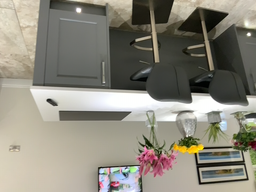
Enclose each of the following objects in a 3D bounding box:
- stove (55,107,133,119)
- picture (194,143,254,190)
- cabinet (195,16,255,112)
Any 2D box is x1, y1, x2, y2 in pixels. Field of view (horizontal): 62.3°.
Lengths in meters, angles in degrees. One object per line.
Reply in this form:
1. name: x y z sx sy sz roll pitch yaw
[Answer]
1. stove: -0.400 0.200 2.440 0.800 0.010 0.540 2 162 -15
2. picture: 1.880 1.350 4.150 1.190 0.790 0.080 2 162 -17
3. cabinet: 1.290 -0.330 2.500 0.600 0.910 0.600 2 162 -15
